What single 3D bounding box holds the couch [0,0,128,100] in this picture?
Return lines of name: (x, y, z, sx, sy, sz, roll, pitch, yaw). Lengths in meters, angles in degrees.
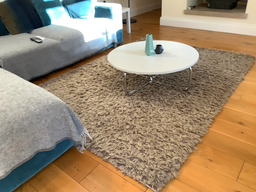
couch: (-1.620, -0.680, 2.580, 1.340, 0.840, 3.460, 21, 39, 34)
